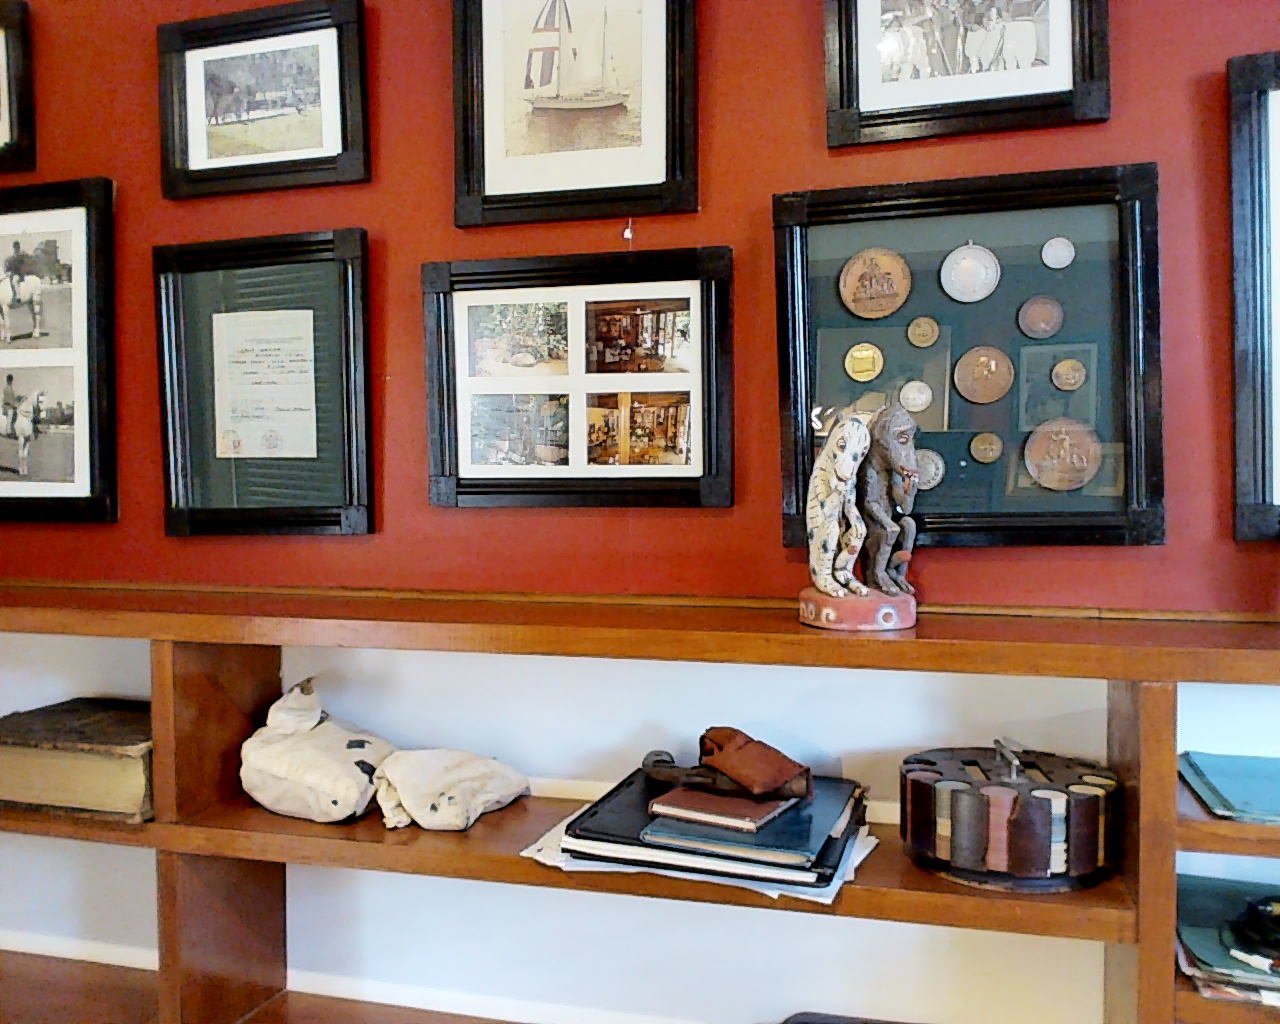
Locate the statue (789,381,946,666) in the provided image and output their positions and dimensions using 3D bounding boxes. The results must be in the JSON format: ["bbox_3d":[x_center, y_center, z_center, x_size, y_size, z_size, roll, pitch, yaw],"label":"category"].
[{"bbox_3d":[0.280,0.010,1.310,0.170,0.310,0.250,0,1,14],"label":"statue"}]

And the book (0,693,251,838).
[{"bbox_3d":[-0.820,0.360,1.580,0.380,0.120,0.270,0,1,18],"label":"book"}]

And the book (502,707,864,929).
[{"bbox_3d":[0.070,0.350,1.300,0.380,0.150,0.310,0,1,14],"label":"book"}]

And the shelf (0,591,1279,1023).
[{"bbox_3d":[-0.110,0.700,1.390,3.489,1.130,0.300,0,1,16],"label":"shelf"}]
